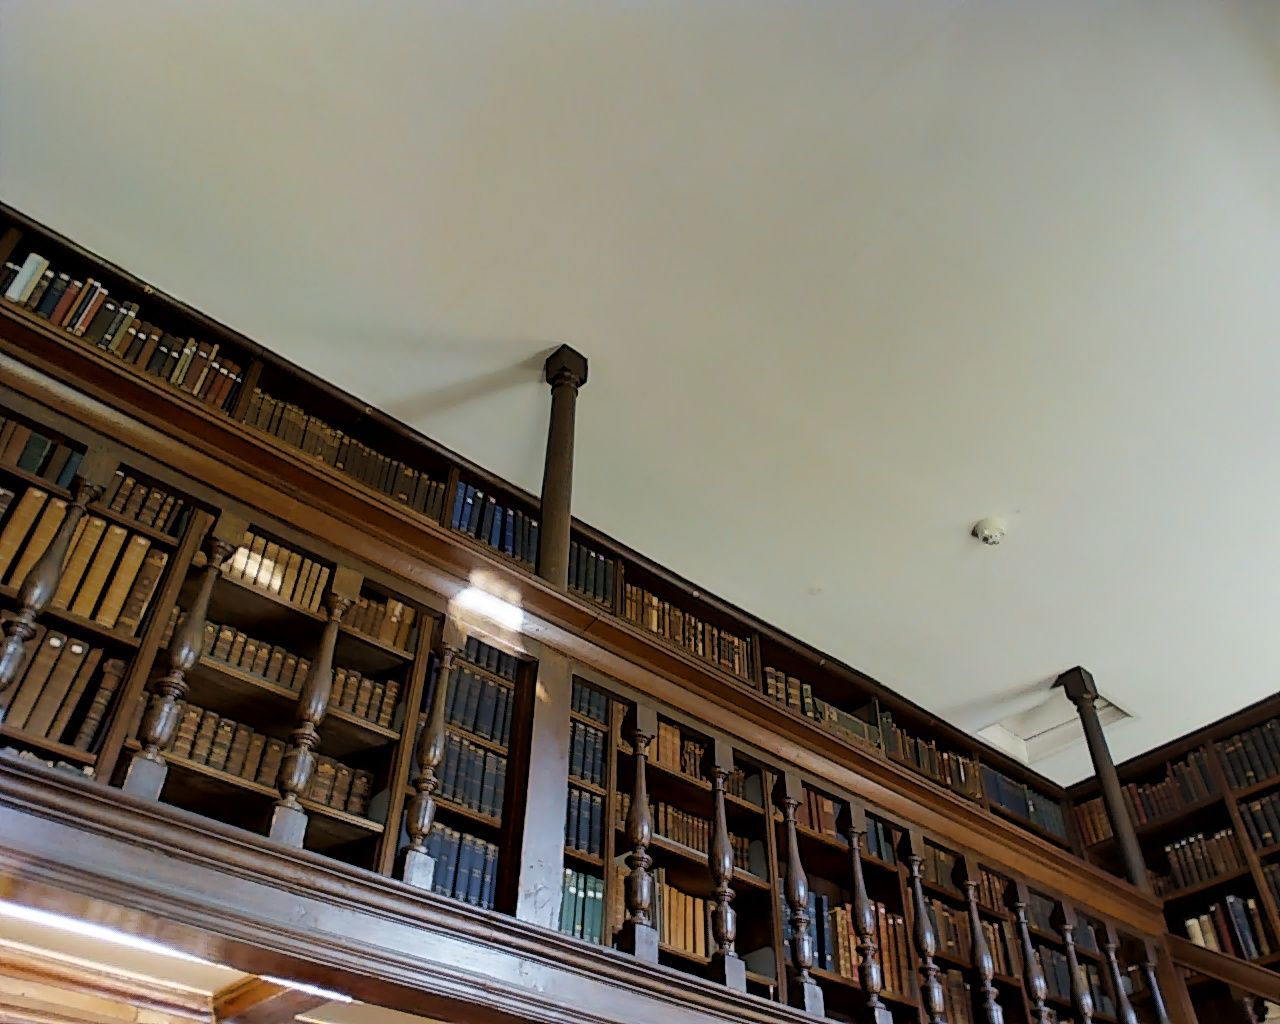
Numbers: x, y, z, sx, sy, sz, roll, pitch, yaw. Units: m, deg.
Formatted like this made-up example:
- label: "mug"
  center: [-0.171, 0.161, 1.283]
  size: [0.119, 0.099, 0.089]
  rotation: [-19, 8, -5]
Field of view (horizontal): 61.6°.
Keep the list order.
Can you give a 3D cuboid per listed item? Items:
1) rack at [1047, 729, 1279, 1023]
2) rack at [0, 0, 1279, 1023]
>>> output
- label: "rack"
  center: [2.660, 2.210, 5.170]
  size: [0.320, 2.180, 0.780]
  rotation: [30, -50, -28]
- label: "rack"
  center: [-1.960, -0.430, 2.420]
  size: [12.349, 2.070, 0.840]
  rotation: [30, -50, -28]
